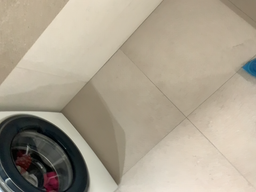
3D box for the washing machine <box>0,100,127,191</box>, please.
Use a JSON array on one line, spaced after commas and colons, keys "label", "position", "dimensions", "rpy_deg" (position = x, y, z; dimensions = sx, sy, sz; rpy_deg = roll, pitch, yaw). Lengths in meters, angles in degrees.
[{"label": "washing machine", "position": [-0.570, 0.480, 1.020], "dimensions": [0.680, 0.850, 0.620], "rpy_deg": [-46, 76, 10]}]
